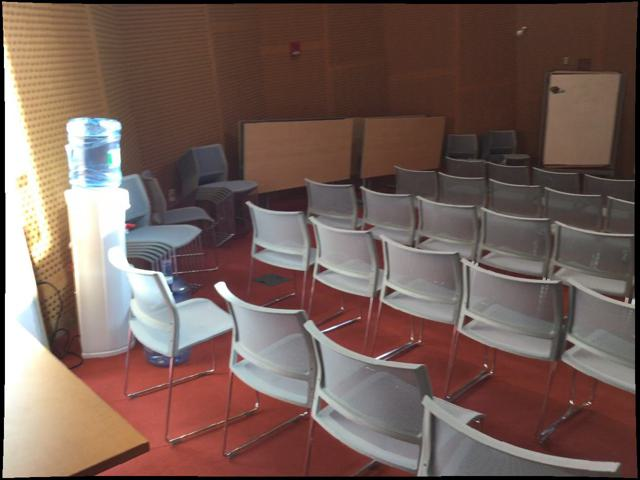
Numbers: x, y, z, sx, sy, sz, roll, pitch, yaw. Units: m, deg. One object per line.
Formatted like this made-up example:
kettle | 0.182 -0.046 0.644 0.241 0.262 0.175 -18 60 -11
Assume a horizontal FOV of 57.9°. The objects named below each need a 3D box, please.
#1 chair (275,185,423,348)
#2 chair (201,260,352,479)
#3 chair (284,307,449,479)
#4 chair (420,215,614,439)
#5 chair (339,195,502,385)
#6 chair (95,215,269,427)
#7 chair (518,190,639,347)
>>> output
chair | 0.180 0.120 3.520 0.590 0.701 0.640 -20 27 -38
chair | -0.160 0.490 2.210 0.520 0.701 0.220 14 26 36
chair | 0.150 0.621 1.910 0.480 0.701 0.180 10 24 29
chair | 0.919 0.370 2.780 0.660 0.751 0.530 17 28 40
chair | 0.539 0.230 3.170 0.640 0.741 0.570 16 27 38
chair | -0.629 0.340 2.700 0.540 0.711 0.500 -19 27 -37
chair | 1.698 0.140 3.580 0.670 0.691 0.550 16 28 39
